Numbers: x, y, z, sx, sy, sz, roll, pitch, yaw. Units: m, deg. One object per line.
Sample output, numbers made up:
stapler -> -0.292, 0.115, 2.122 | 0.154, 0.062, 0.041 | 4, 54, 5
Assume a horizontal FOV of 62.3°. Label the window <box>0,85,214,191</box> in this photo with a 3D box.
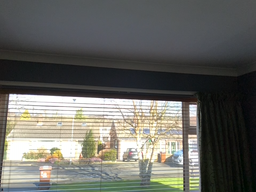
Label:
window -> -0.260, 0.750, 2.690 | 2.800, 1.620, 0.290 | 3, -8, -12
